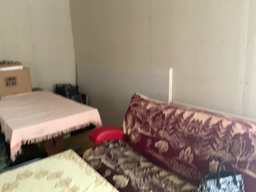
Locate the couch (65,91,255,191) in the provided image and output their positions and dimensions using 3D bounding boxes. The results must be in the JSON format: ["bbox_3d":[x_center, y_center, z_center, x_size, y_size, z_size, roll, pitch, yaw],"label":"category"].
[{"bbox_3d":[0.440,0.610,1.820,1.160,0.880,1.880,-13,17,-37],"label":"couch"}]

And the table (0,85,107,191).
[{"bbox_3d":[-1.390,0.410,3.220,1.020,0.760,2.190,-14,17,-38],"label":"table"}]
